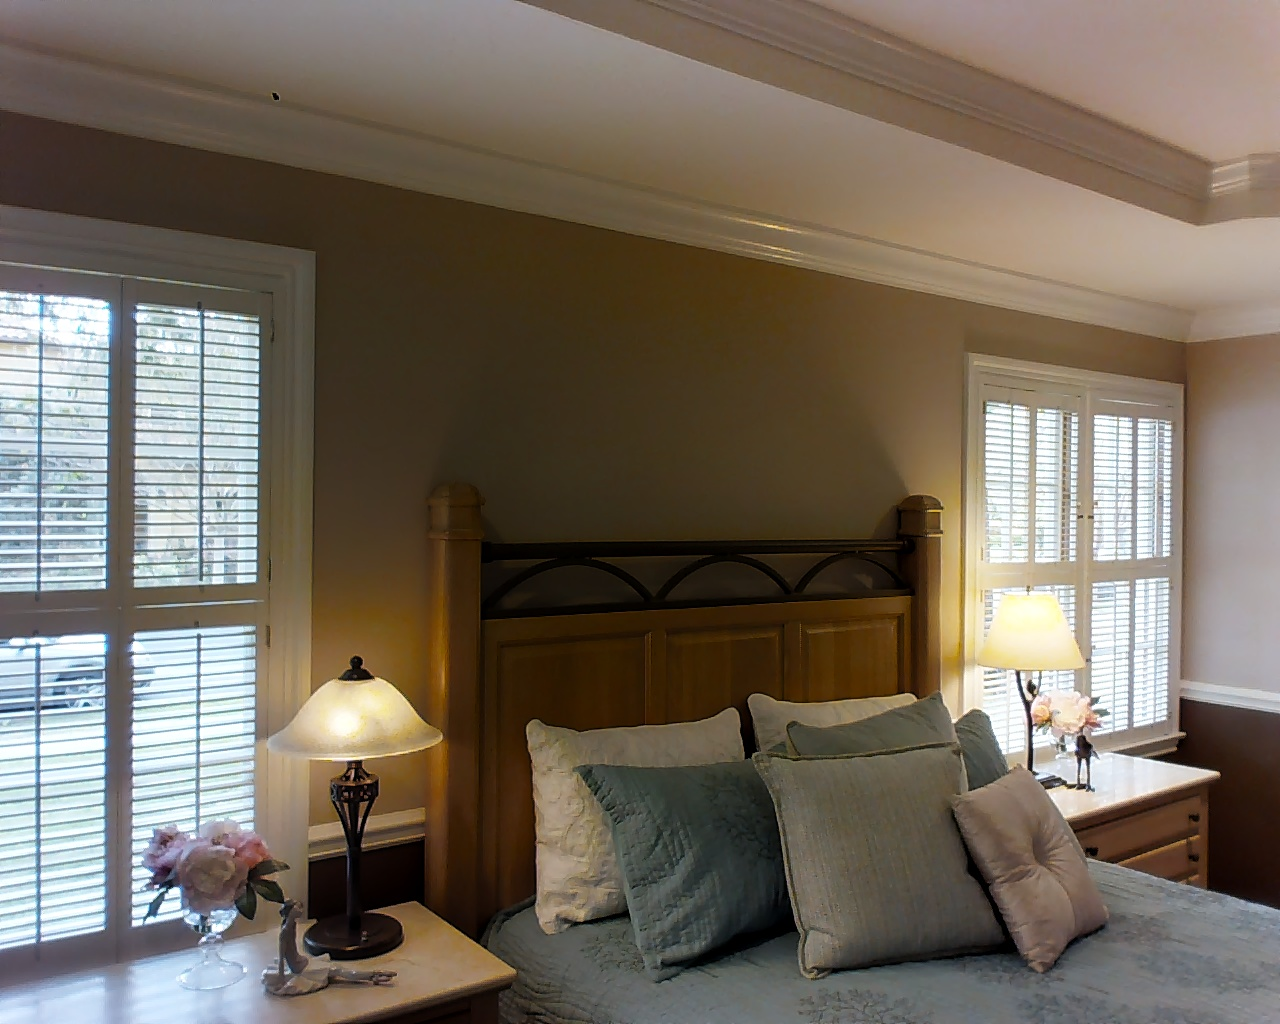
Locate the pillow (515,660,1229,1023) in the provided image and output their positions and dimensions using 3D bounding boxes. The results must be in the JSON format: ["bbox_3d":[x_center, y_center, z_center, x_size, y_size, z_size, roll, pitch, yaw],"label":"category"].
[{"bbox_3d":[0.550,0.660,2.490,1.390,0.410,0.920,0,1,-36],"label":"pillow"}]

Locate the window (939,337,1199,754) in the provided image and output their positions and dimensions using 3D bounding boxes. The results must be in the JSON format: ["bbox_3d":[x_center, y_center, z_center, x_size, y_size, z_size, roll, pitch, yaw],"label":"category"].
[{"bbox_3d":[1.630,0.110,3.980,1.400,1.360,0.160,0,1,-36],"label":"window"}]

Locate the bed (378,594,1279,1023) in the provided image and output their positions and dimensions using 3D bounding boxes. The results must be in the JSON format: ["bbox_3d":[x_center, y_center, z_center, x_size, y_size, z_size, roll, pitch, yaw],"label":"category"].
[{"bbox_3d":[0.850,0.890,1.990,1.850,1.230,2.310,0,1,-36],"label":"bed"}]

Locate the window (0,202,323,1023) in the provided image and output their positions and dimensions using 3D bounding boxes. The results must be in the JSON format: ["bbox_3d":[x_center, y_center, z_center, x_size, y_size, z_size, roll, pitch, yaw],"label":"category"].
[{"bbox_3d":[-1.280,0.180,1.860,1.440,1.450,0.120,0,1,-36],"label":"window"}]
